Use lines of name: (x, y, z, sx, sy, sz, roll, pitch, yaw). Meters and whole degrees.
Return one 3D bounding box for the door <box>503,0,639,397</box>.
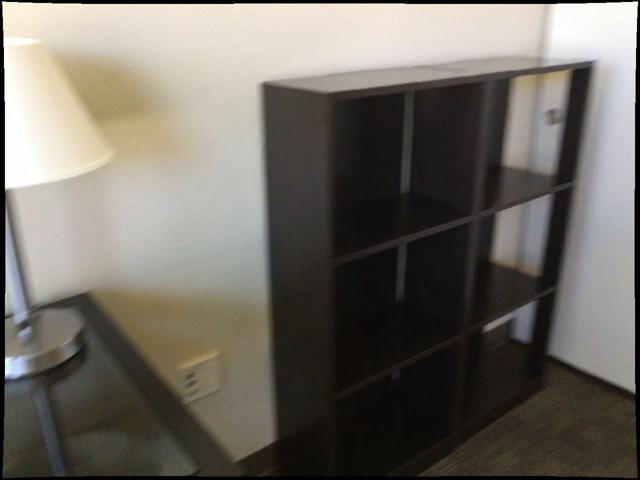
door: (1.269, -0.080, 1.700, 0.140, 1.431, 1.490, -17, 26, -33)
